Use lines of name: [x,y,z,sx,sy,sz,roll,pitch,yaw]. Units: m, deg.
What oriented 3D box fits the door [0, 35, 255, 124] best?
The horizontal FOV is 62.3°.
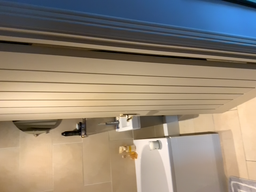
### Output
door: [0.070,-0.010,1.310,0.850,1.970,0.060,133,133,-59]
